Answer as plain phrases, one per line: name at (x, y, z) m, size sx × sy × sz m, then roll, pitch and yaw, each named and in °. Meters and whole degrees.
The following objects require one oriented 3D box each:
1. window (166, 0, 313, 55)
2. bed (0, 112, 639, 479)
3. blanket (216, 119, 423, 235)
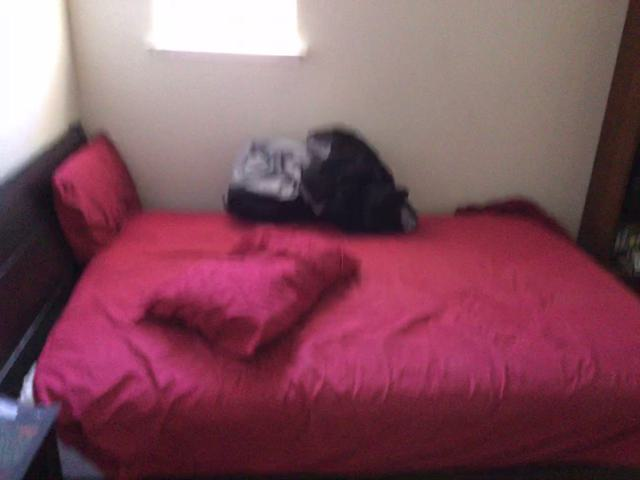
window at (-0.330, -1.050, 2.390) m, size 0.590 × 0.520 × 0.150 m, roll -2°, pitch 22°, yaw -1°
bed at (0.140, 0.250, 2.100) m, size 2.260 × 1.120 × 1.480 m, roll -2°, pitch 22°, yaw 0°
blanket at (0.000, -0.280, 2.430) m, size 0.770 × 0.350 × 0.470 m, roll -2°, pitch 22°, yaw 0°
